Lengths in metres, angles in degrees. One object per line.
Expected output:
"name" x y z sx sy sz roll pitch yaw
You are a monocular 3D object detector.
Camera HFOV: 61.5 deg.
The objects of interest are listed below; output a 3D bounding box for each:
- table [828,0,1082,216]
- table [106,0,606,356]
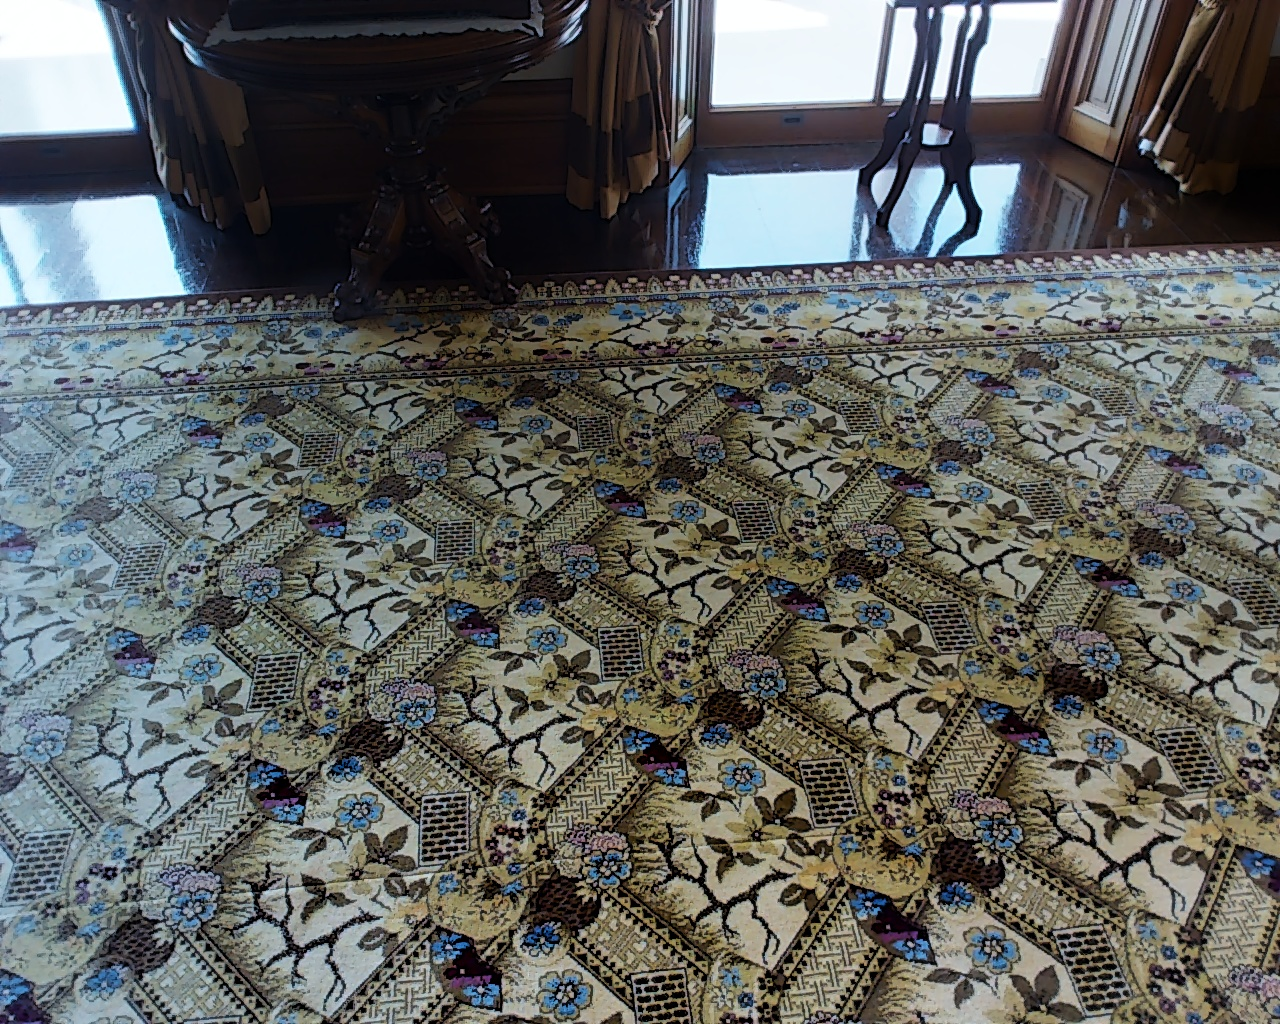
"table" 0.920 -1.300 3.250 0.560 0.680 0.340 -3 43 -4
"table" -0.640 -1.050 2.880 1.020 0.780 0.990 -3 43 -4
